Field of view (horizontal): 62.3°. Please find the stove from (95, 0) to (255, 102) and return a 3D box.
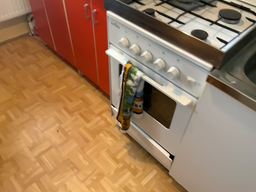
[{"bbox_3d":[0.260,-0.330,0.970,0.570,0.160,0.580,-34,58,-31],"label":"stove"}]
